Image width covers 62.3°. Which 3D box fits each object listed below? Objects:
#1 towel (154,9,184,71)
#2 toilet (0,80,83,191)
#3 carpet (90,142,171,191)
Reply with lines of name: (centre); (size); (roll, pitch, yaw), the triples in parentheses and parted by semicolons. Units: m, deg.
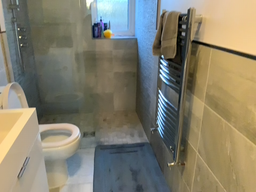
towel: (0.250, -0.370, 1.360); (0.060, 0.340, 0.360); (-2, 21, -7)
toilet: (-0.700, 0.350, 1.660); (0.610, 0.840, 0.420); (-3, 21, -8)
carpet: (-0.010, 0.700, 1.870); (0.610, 0.040, 0.880); (-4, 21, -10)
